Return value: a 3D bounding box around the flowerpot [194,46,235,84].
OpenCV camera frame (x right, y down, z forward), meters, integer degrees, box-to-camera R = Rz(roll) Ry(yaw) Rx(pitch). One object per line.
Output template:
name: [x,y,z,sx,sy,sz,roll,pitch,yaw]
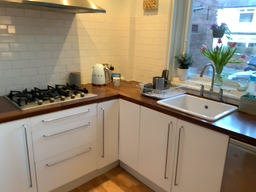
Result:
flowerpot: [0.850,-0.320,2.090,0.200,0.330,0.270,-11,21,-39]
